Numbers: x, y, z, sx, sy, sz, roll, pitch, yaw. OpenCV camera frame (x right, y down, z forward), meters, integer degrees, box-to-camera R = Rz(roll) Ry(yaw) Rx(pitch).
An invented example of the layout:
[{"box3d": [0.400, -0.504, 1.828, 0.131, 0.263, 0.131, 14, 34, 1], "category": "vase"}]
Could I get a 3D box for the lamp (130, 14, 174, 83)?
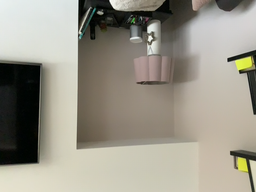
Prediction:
[{"box3d": [0.220, -0.420, 2.020, 0.320, 0.560, 0.280, 1, 176, -22], "category": "lamp"}]
